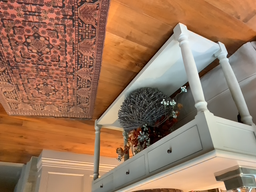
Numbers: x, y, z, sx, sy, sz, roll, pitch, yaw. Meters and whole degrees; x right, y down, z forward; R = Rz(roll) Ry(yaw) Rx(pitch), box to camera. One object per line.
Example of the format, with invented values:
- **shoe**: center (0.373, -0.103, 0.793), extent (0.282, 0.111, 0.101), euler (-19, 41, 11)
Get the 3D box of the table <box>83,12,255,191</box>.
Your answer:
- **table**: center (0.110, 0.270, 1.620), extent (0.420, 0.860, 1.430), euler (14, 143, -24)
